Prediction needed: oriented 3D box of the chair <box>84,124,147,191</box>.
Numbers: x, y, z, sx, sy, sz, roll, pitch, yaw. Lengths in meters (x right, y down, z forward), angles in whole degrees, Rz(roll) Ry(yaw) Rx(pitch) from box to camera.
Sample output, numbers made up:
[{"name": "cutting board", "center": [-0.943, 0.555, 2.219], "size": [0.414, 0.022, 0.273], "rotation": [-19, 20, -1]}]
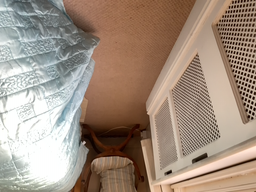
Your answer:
[{"name": "chair", "center": [-0.160, 0.760, 2.360], "size": [0.600, 0.780, 0.480], "rotation": [2, 153, -9]}]
